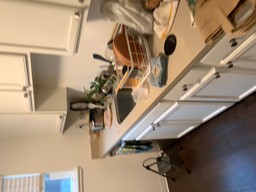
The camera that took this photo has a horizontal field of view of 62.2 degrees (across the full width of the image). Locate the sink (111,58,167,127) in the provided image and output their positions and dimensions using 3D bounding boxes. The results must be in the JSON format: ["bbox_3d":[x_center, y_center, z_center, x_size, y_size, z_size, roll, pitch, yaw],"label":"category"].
[{"bbox_3d":[0.070,0.000,2.000,0.590,0.260,0.410,127,140,-56],"label":"sink"}]
